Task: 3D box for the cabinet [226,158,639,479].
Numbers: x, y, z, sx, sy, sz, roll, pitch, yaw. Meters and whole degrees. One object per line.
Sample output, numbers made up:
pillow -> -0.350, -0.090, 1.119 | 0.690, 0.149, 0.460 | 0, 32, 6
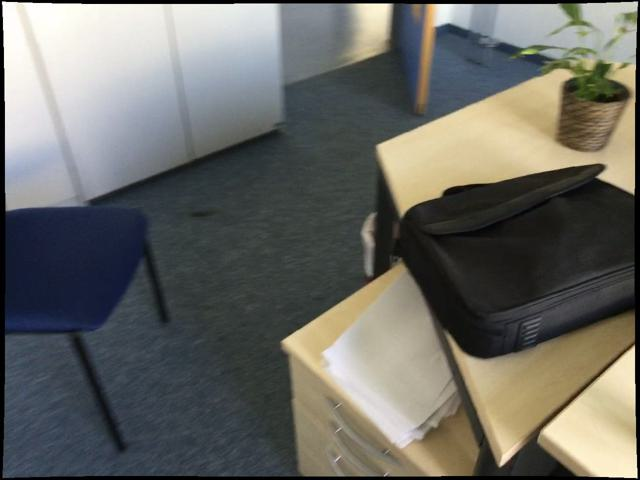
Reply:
cabinet -> 0.290, 0.310, 1.320 | 0.750, 0.590, 0.550 | -28, 46, -27
